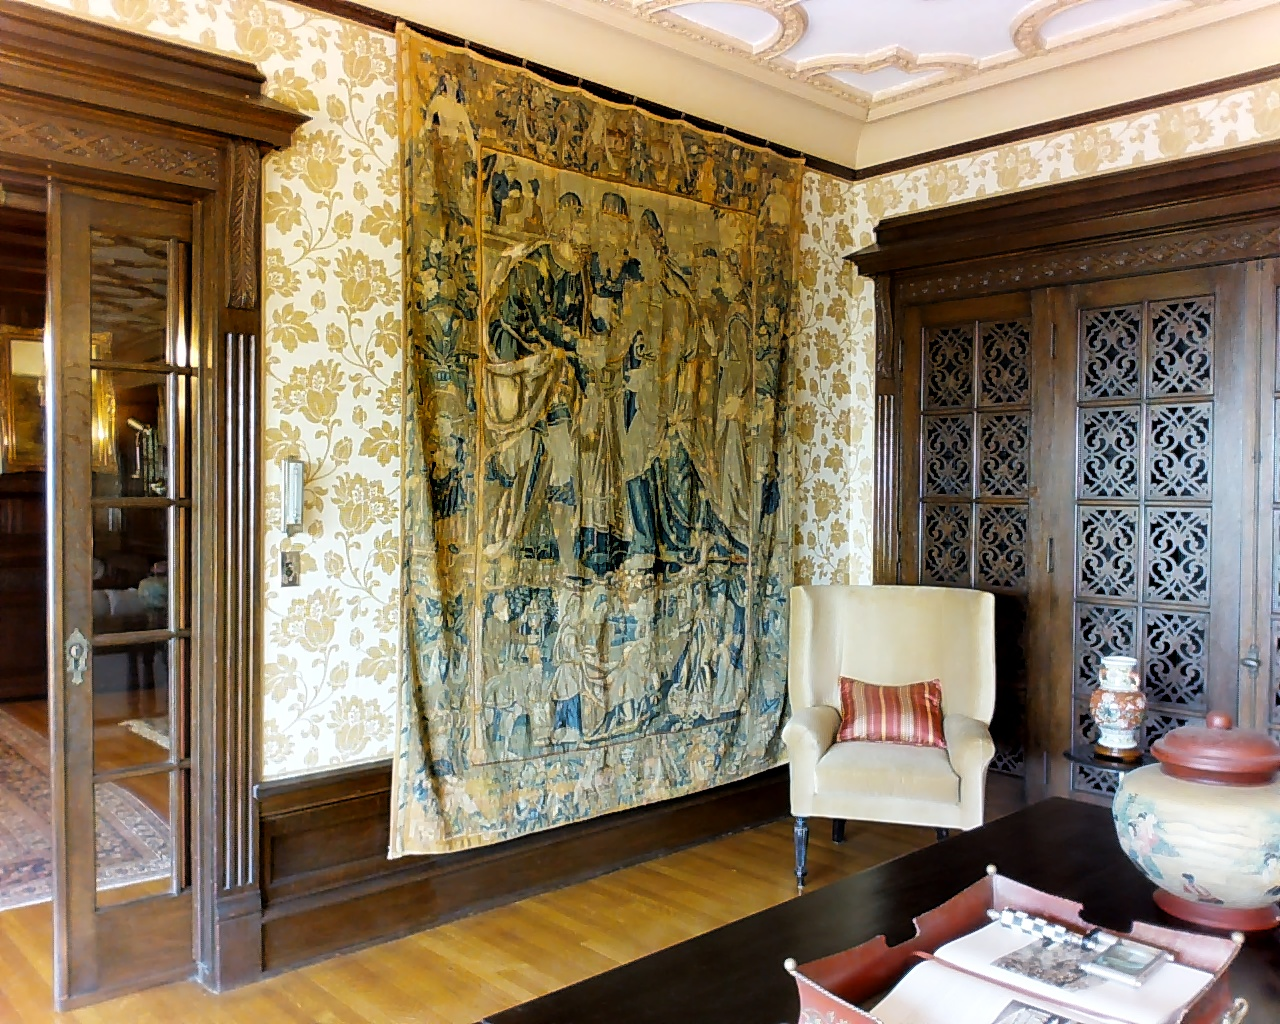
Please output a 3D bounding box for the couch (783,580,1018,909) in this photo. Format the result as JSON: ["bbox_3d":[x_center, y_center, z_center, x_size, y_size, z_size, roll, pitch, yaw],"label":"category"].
[{"bbox_3d":[1.050,0.890,4.430,0.850,1.140,0.740,1,1,12],"label":"couch"}]
